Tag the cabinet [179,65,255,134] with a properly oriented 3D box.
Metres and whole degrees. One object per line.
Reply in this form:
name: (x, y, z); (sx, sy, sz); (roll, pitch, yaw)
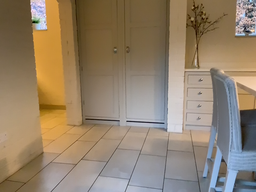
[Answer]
cabinet: (1.430, 0.000, 3.260); (1.210, 0.910, 0.680); (2, 12, 13)
